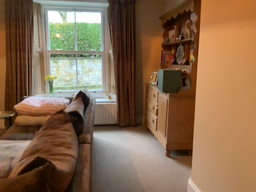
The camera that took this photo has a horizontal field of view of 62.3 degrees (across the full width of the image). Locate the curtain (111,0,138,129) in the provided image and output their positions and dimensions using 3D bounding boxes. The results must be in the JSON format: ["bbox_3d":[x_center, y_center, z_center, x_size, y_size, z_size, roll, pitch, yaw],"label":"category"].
[{"bbox_3d":[-0.090,-0.530,3.780,0.390,2.200,0.420,0,10,-7],"label":"curtain"}]

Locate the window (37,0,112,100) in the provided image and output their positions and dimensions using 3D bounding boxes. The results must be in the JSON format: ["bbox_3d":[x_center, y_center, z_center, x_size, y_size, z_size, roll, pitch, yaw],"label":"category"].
[{"bbox_3d":[-0.960,-0.820,4.010,1.310,1.800,0.170,0,10,-6],"label":"window"}]

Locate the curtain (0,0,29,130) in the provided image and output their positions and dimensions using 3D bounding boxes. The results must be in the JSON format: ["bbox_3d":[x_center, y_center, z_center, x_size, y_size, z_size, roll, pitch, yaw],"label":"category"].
[{"bbox_3d":[-1.960,-0.550,3.410,0.490,2.180,0.250,0,10,-8],"label":"curtain"}]
